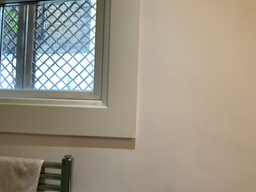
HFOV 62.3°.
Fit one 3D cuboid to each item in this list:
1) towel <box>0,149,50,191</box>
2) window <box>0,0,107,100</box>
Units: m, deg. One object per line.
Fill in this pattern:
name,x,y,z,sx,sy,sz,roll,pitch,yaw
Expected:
towel,-0.450,0.300,0.790,0.280,0.170,0.090,2,-2,9
window,-0.560,-0.350,1.440,0.800,0.720,0.060,2,-2,5
